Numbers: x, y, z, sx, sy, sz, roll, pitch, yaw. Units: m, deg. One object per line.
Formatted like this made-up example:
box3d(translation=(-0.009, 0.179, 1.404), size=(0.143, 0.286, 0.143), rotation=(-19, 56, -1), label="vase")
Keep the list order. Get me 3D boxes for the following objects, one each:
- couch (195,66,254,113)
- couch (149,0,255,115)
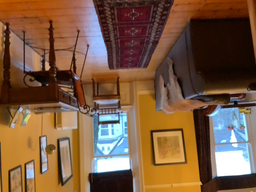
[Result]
box3d(translation=(2.260, -0.090, 4.970), size=(1.070, 0.880, 0.770), rotation=(-8, 171, 32), label="couch")
box3d(translation=(1.060, -0.250, 3.070), size=(1.090, 0.900, 2.510), rotation=(-3, 173, -3), label="couch")
